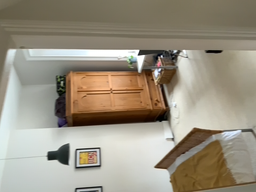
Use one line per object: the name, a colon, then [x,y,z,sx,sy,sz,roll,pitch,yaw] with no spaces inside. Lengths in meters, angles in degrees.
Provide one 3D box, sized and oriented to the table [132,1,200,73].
table: [0.570,-0.940,3.610,1.010,0.740,0.610,108,157,-56]
